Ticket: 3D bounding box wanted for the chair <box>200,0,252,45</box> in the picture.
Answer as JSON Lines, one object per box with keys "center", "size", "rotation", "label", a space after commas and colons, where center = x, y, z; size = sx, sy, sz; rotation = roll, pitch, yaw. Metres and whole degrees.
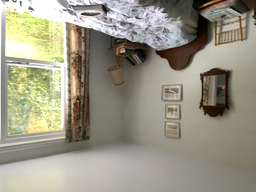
{"center": [1.130, -1.070, 2.450], "size": [0.400, 0.820, 0.420], "rotation": [0, 179, -41], "label": "chair"}
